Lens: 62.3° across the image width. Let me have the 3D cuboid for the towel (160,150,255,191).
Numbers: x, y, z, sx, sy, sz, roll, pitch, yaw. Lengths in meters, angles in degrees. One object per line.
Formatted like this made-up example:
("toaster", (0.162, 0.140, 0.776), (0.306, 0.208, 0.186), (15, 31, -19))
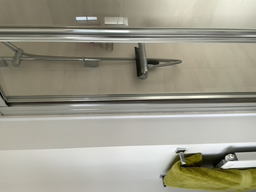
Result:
("towel", (0.510, 0.490, 1.220), (0.410, 0.560, 0.190), (96, 172, -52))
